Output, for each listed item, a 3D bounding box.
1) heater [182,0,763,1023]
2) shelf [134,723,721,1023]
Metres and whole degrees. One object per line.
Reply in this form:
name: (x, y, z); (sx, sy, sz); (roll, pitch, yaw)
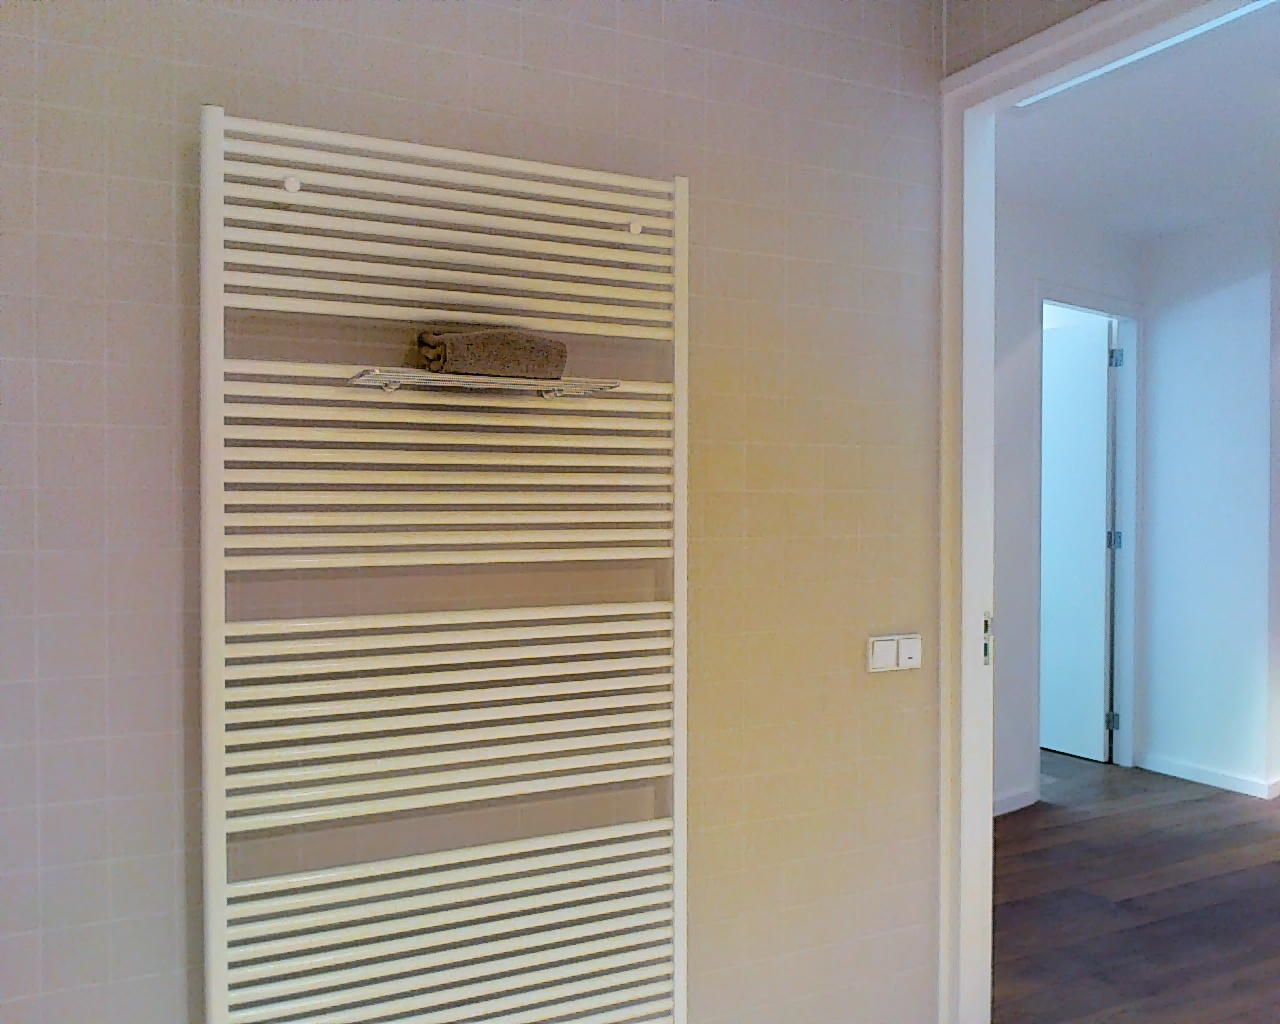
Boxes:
heater: (-0.280, 0.250, 1.890); (0.940, 2.030, 0.340); (0, 1, -26)
shelf: (-0.340, 0.840, 2.020); (1.100, 0.780, 0.060); (0, 1, -26)
